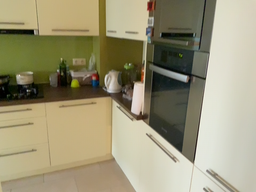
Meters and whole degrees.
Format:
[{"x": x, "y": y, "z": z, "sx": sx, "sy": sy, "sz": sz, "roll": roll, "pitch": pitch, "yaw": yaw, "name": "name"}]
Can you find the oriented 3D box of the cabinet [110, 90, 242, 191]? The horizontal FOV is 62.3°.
[{"x": 0.260, "y": 0.540, "z": 1.940, "sx": 0.450, "sy": 0.840, "sz": 1.240, "roll": -5, "pitch": 20, "yaw": -23, "name": "cabinet"}]
